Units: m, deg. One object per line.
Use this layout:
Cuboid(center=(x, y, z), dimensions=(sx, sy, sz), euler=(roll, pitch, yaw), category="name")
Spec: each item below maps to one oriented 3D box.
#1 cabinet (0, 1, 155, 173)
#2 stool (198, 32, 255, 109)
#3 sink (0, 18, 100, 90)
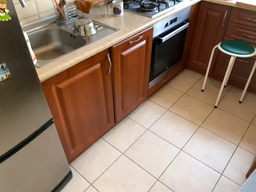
Cuboid(center=(-0.340, -0.140, 1.670), dimensions=(0.590, 0.840, 0.980), euler=(28, 47, 29), category="cabinet")
Cuboid(center=(0.940, -0.240, 2.000), dimensions=(0.310, 0.570, 0.320), euler=(31, 48, 32), category="stool")
Cuboid(center=(-0.480, -0.290, 1.330), dimensions=(0.430, 0.190, 0.400), euler=(28, 47, 29), category="sink")
